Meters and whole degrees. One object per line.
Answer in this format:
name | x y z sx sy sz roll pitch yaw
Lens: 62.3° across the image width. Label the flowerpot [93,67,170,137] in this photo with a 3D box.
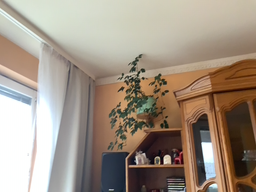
flowerpot | 0.030 0.070 1.880 0.610 0.520 0.220 -7 -21 18
